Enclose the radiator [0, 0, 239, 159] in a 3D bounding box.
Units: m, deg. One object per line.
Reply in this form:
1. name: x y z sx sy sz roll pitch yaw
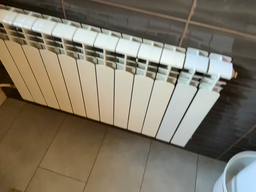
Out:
1. radiator: -0.150 -0.020 1.070 1.030 0.750 0.110 16 55 6
